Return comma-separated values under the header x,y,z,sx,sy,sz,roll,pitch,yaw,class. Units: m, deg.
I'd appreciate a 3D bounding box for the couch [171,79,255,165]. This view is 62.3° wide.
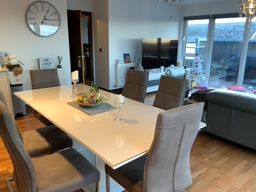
x,y,z,sx,sy,sz,roll,pitch,yaw,class
1.530,0.260,3.180,1.040,0.740,1.330,-12,19,-39,couch

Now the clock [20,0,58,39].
x,y,z,sx,sy,sz,roll,pitch,yaw,class
-1.700,-1.470,4.110,0.640,0.690,0.060,-12,20,-40,clock

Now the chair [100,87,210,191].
x,y,z,sx,sy,sz,roll,pitch,yaw,class
0.150,0.520,1.550,0.440,1.040,0.590,-11,19,-37,chair
